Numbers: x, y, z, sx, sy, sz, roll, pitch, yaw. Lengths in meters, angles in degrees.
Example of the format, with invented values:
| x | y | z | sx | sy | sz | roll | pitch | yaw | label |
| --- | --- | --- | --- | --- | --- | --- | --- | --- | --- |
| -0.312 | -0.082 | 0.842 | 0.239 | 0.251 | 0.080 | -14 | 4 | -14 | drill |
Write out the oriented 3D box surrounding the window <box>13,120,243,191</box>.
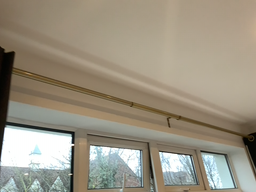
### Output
| x | y | z | sx | sy | sz | roll | pitch | yaw | label |
| --- | --- | --- | --- | --- | --- | --- | --- | --- | --- |
| 0.350 | 0.980 | 1.420 | 2.120 | 1.330 | 0.130 | 17 | -36 | -38 | window |
